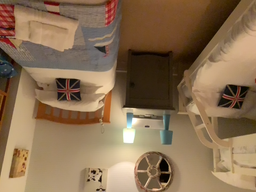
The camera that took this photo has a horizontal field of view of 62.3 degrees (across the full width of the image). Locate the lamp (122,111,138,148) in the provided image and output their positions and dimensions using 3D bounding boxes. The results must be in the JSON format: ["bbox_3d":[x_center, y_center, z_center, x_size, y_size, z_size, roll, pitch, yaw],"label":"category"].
[{"bbox_3d":[0.030,0.450,2.800,0.180,0.440,0.280,3,165,0],"label":"lamp"}]

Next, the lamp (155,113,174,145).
[{"bbox_3d":[0.470,0.430,2.740,0.190,0.370,0.310,3,165,1],"label":"lamp"}]
